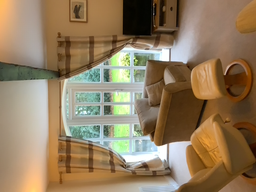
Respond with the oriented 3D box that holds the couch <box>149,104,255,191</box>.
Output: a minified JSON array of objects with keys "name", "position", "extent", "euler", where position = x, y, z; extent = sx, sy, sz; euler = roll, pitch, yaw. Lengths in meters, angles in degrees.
[{"name":"couch","position":[0.810,0.640,2.160],"extent":[0.700,0.930,0.900],"euler":[111,157,-62]}]

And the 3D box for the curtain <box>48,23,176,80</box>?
[{"name":"curtain","position":[-0.250,-0.800,4.020],"extent":[0.170,2.360,0.950],"euler":[-159,70,-78]}]

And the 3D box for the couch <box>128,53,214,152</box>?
[{"name":"couch","position":[0.560,0.060,3.440],"extent":[1.160,0.830,1.120],"euler":[-107,20,-57]}]

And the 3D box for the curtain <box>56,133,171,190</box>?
[{"name":"curtain","position":[-0.240,1.270,4.240],"extent":[0.120,2.290,0.960],"euler":[170,99,-79]}]
